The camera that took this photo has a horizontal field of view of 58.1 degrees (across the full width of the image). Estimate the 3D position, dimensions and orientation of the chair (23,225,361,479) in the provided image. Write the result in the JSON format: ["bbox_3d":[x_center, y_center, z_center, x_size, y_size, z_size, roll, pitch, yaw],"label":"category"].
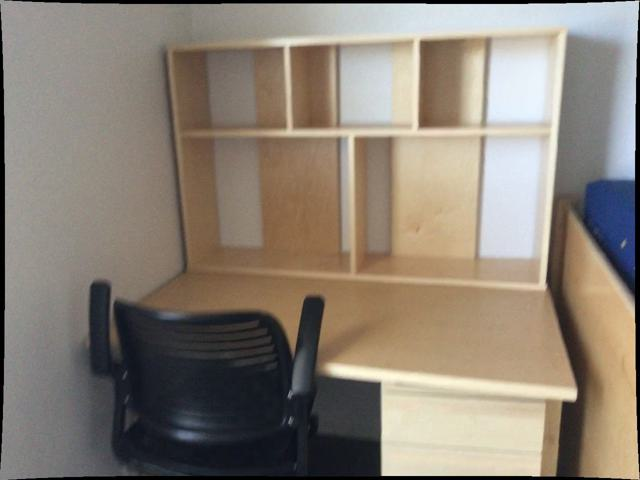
[{"bbox_3d":[-0.270,0.501,1.790,0.649,0.911,0.830,1,16,13],"label":"chair"}]
